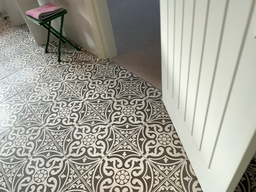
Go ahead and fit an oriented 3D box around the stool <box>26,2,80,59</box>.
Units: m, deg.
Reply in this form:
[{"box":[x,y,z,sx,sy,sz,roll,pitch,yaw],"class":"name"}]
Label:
[{"box":[-0.700,-0.620,2.010,0.280,0.380,0.280,-36,50,-23],"class":"stool"}]
